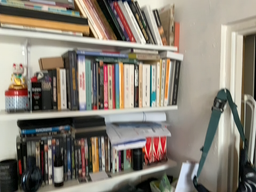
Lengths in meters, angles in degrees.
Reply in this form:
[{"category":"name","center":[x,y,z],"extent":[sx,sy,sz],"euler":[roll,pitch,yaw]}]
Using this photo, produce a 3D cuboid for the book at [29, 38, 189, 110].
[{"category":"book","center":[-0.070,-0.090,1.030],"extent":[0.730,0.270,0.210],"euler":[-1,3,-22]}]
